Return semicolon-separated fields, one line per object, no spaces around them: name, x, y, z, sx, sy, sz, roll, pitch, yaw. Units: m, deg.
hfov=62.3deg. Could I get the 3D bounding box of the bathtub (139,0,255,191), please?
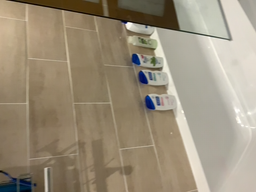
bathtub;0.640;-0.260;1.230;0.710;0.590;1.690;-48;48;52
